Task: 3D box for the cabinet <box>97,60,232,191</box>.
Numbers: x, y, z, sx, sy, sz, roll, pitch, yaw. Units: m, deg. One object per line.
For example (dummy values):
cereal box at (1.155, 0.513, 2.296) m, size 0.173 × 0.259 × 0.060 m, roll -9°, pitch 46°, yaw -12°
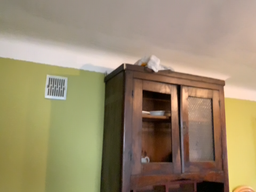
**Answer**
cabinet at (0.270, 0.400, 1.600) m, size 0.900 × 1.130 × 0.380 m, roll 6°, pitch -14°, yaw -22°
